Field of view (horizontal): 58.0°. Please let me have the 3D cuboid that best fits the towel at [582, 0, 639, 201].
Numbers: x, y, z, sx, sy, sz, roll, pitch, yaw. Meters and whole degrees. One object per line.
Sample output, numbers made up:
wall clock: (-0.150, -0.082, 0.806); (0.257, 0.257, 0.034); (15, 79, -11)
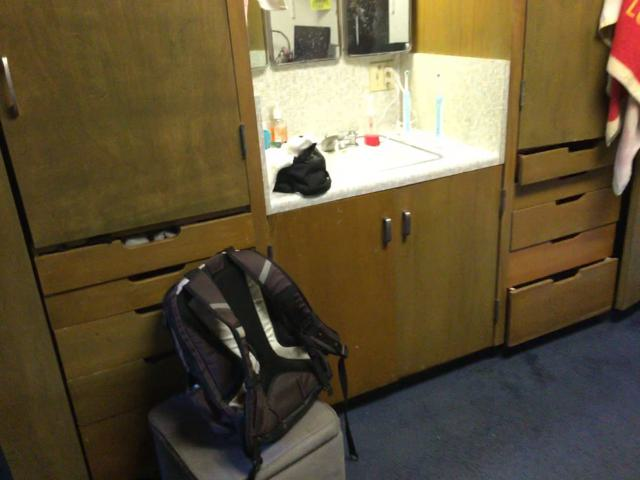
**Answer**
towel: (1.030, -0.760, 1.790); (0.310, 1.240, 0.140); (-15, 23, -22)
